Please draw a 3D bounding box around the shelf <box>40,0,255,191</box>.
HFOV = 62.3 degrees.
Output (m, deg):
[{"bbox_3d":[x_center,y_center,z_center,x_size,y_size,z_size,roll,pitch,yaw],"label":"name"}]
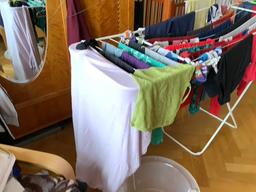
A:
[{"bbox_3d":[0.530,-0.190,1.560,1.920,0.760,0.770,-25,41,-34],"label":"shelf"}]
